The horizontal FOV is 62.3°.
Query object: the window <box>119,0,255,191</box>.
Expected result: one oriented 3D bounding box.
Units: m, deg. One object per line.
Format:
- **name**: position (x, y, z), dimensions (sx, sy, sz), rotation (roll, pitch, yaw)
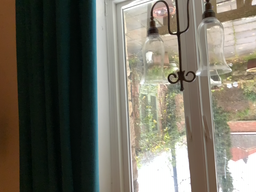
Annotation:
- **window**: position (0.340, 0.000, 1.100), dimensions (0.780, 1.240, 0.080), rotation (-5, 174, 28)
